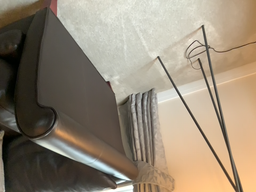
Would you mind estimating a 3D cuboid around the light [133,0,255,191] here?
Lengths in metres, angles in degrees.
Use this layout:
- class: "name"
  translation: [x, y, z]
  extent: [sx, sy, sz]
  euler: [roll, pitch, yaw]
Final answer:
- class: "light"
  translation: [0.550, 0.260, 1.280]
  extent: [0.590, 1.650, 0.820]
  euler: [-17, 147, 13]
